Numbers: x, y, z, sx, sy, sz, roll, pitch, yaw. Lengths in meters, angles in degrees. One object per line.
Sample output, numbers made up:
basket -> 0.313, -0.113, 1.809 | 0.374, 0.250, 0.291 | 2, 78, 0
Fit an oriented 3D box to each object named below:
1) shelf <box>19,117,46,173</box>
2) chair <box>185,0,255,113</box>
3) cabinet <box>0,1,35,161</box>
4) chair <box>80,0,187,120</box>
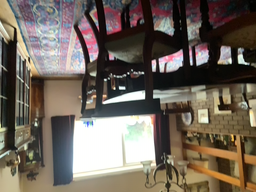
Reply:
shelf -> -1.930, 0.960, 4.320 | 0.430, 1.040, 0.430 | -2, 175, -17
chair -> 0.760, -0.350, 1.340 | 0.510, 0.880, 0.540 | -2, 175, -16
cabinet -> -1.410, -0.020, 2.460 | 0.370, 1.160, 2.230 | -2, 175, -18
chair -> 0.050, -0.300, 1.430 | 0.470, 0.880, 0.540 | -6, 174, 31
